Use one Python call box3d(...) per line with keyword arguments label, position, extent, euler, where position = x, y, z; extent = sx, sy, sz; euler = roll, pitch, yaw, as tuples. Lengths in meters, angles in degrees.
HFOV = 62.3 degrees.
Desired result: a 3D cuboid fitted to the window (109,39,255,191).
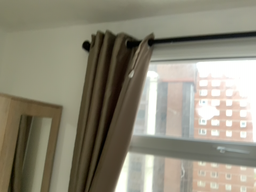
box3d(label="window", position=(0.470, 0.540, 1.050), extent=(1.200, 1.670, 0.100), euler=(1, -9, 21))
